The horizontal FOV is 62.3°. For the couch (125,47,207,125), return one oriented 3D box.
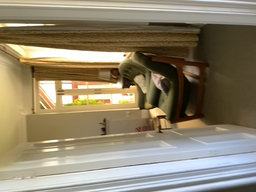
[{"bbox_3d":[0.450,-0.170,2.870,0.820,0.820,0.890,-148,57,-76],"label":"couch"}]

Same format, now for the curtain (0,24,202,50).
[{"bbox_3d":[-0.400,-0.670,2.490,0.340,2.580,0.250,-135,44,-73],"label":"curtain"}]

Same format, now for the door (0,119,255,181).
[{"bbox_3d":[0.110,0.340,1.650,0.890,2.110,0.080,-177,85,-78],"label":"door"}]

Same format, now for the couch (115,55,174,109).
[{"bbox_3d":[0.250,-0.220,3.830,0.810,0.820,0.850,167,101,-78],"label":"couch"}]
